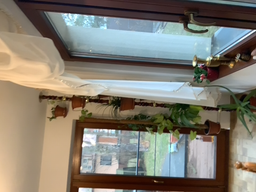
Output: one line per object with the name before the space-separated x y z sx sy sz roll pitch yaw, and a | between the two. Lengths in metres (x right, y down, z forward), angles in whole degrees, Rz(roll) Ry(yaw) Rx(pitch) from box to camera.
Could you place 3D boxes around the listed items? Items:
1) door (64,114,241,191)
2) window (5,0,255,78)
door | 0.300 2.010 2.850 0.220 2.360 3.370 136 138 -83
window | 0.200 -0.500 1.430 1.590 1.630 0.290 122 151 -81
